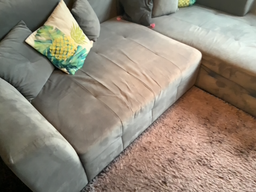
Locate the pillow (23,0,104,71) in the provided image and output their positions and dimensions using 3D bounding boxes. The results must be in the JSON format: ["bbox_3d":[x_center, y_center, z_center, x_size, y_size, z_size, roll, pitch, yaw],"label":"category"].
[{"bbox_3d":[-0.450,-0.470,1.630,0.190,0.430,0.530,-4,16,27],"label":"pillow"}]
